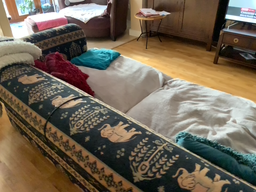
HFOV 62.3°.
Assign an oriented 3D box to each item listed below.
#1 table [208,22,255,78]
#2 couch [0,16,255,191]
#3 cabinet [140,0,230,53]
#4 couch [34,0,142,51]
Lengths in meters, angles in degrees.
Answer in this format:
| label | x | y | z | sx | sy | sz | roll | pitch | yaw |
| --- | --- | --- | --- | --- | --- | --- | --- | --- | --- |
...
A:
| label | x | y | z | sx | sy | sz | roll | pitch | yaw |
| --- | --- | --- | --- | --- | --- | --- | --- | --- | --- |
| table | 1.680 | -0.550 | 2.690 | 1.110 | 0.480 | 0.430 | 25 | 42 | 33 |
| couch | 0.040 | 0.120 | 1.540 | 2.440 | 0.740 | 1.300 | 25 | 42 | 33 |
| cabinet | 0.900 | -1.520 | 3.490 | 1.290 | 1.210 | 0.610 | 24 | 42 | 33 |
| couch | -0.780 | -1.690 | 4.140 | 1.680 | 0.870 | 1.250 | 25 | 42 | 33 |
